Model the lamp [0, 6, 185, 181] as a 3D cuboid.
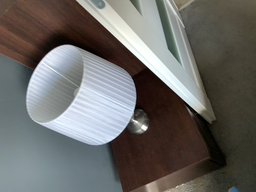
[{"bbox_3d":[-0.130,0.020,0.810,0.370,0.460,0.420,-50,51,6],"label":"lamp"}]
